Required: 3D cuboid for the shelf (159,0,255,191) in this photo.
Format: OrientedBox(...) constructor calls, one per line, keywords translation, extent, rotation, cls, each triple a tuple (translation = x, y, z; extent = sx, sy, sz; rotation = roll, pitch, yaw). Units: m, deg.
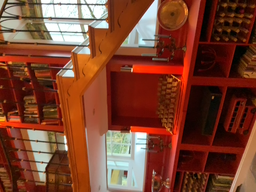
OrientedBox(translation=(1.260, 0.320, 3.220), extent=(0.650, 1.110, 4.490), rotation=(-79, -7, -62), cls="shelf")
